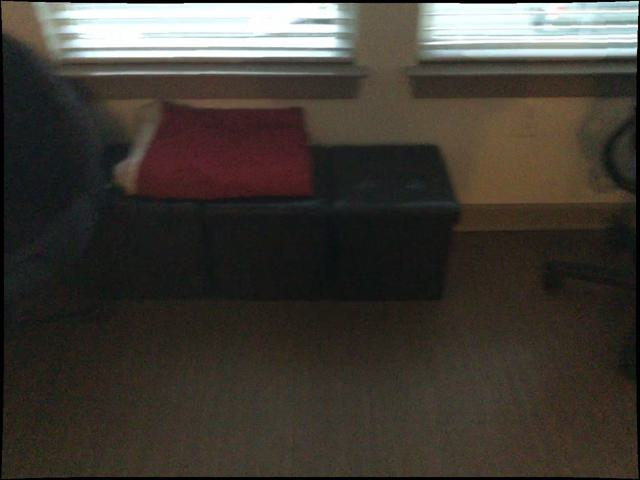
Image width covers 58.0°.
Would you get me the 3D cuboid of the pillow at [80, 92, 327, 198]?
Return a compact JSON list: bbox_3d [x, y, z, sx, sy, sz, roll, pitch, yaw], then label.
[{"bbox_3d":[-0.309,-0.291,1.720,0.658,0.160,0.340,0,40,1],"label":"pillow"}]
